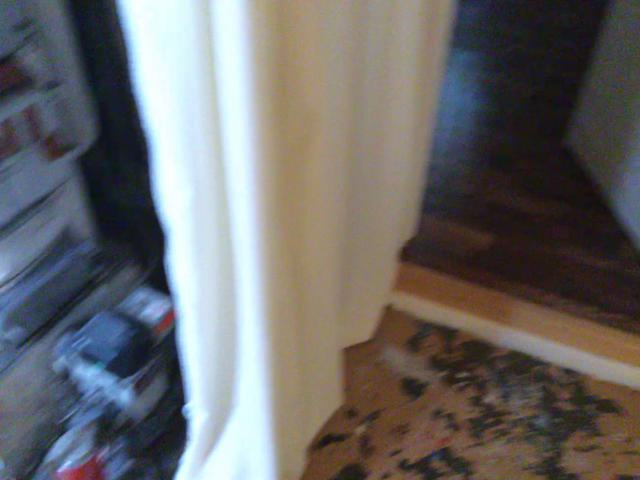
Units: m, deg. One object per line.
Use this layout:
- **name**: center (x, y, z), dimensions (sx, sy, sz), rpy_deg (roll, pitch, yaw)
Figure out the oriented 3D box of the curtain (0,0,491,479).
- **curtain**: center (0.020, -0.380, 0.930), dimensions (0.310, 1.980, 1.240), rpy_deg (17, 46, 18)
